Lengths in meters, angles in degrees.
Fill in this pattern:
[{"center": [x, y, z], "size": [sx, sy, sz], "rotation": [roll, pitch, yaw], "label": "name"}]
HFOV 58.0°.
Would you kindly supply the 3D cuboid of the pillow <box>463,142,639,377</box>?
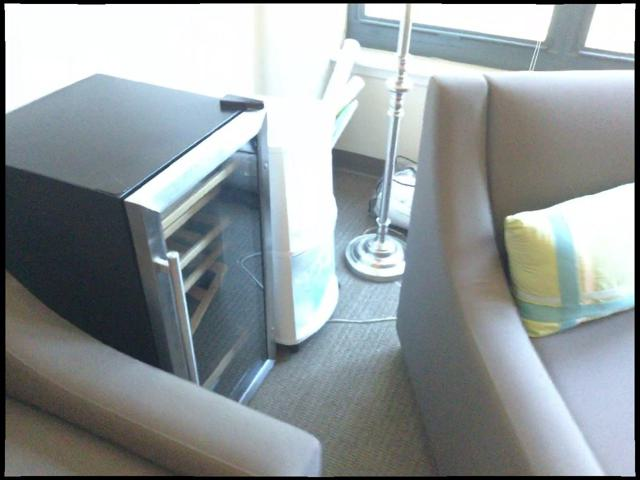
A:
[{"center": [0.579, 0.020, 1.280], "size": [0.370, 0.260, 0.360], "rotation": [21, 42, 22], "label": "pillow"}]
